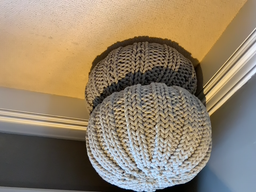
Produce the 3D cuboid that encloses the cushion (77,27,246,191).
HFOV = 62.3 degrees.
[{"bbox_3d":[0.070,0.100,0.940,0.470,0.550,0.440,10,140,-16],"label":"cushion"}]
